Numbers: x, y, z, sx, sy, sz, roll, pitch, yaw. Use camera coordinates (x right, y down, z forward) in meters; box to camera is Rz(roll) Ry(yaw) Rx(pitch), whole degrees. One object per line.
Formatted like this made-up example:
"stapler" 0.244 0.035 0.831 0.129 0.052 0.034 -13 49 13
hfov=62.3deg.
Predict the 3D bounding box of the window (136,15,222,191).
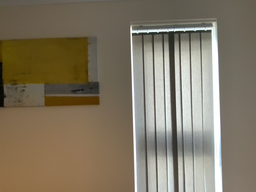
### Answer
"window" 0.370 0.240 1.580 0.580 1.610 0.130 -1 0 4
